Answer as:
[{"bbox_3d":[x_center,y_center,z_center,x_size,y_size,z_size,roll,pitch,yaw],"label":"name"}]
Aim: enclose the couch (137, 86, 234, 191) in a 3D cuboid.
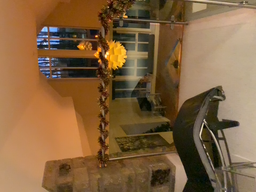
[{"bbox_3d":[0.570,0.690,2.230,0.600,0.670,1.470,146,120,-70],"label":"couch"}]
